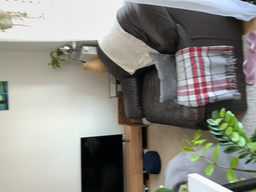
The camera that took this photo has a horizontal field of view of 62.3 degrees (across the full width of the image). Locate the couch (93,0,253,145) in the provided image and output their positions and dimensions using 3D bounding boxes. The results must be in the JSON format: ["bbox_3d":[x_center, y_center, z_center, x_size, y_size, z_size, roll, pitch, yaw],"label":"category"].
[{"bbox_3d":[0.240,-0.200,2.120,1.520,0.860,1.000,177,92,-69],"label":"couch"}]
